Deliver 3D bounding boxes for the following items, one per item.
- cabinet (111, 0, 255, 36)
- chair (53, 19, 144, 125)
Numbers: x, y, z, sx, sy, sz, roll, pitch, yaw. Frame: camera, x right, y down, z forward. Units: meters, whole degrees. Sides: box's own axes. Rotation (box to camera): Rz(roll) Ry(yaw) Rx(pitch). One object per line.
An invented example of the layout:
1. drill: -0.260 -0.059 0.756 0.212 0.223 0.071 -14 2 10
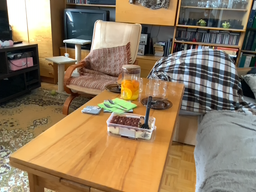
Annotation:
1. cabinet: 0.660 -1.150 2.830 1.690 0.480 0.460 10 21 14
2. chair: -0.290 -0.340 2.440 0.680 0.960 0.840 10 21 14
